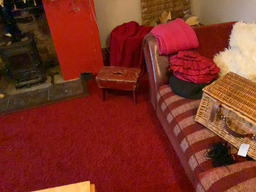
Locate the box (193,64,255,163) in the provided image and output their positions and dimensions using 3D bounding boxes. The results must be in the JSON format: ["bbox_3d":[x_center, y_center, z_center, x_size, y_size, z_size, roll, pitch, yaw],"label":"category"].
[{"bbox_3d":[0.720,0.080,1.200,0.470,0.230,0.460,-27,43,-29],"label":"box"}]

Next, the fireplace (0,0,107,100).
[{"bbox_3d":[-1.320,-0.740,2.370,1.930,1.290,0.760,-13,38,-12],"label":"fireplace"}]

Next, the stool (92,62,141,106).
[{"bbox_3d":[-0.100,-0.130,2.220,0.430,0.310,0.290,7,38,13],"label":"stool"}]
